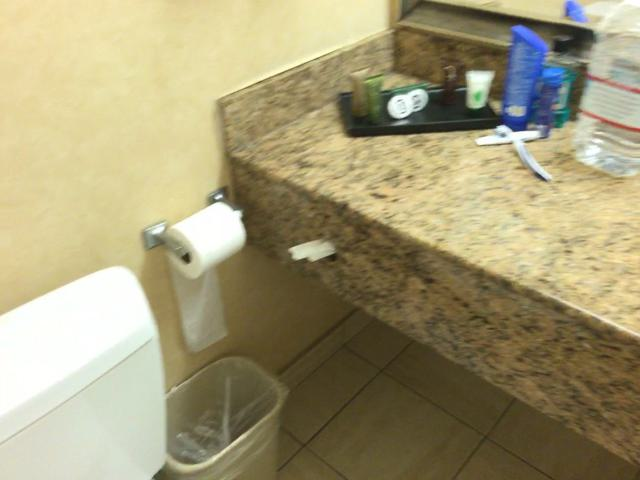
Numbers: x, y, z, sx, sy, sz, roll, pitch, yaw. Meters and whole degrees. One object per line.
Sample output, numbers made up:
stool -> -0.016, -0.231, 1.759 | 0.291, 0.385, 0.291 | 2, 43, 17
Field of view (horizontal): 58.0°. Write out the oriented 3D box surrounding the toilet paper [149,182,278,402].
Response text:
toilet paper -> -0.200, 0.110, 1.170 | 0.120, 0.400, 0.180 | 26, 43, 32

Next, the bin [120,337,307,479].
bin -> -0.220, 0.470, 1.310 | 0.220, 0.310, 0.320 | 26, 43, 32

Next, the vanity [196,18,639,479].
vanity -> 0.540, 0.050, 0.910 | 1.480, 0.420, 0.590 | 26, 43, 32
